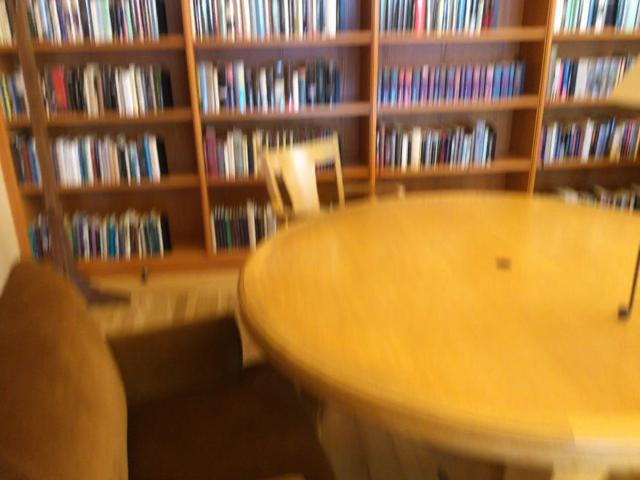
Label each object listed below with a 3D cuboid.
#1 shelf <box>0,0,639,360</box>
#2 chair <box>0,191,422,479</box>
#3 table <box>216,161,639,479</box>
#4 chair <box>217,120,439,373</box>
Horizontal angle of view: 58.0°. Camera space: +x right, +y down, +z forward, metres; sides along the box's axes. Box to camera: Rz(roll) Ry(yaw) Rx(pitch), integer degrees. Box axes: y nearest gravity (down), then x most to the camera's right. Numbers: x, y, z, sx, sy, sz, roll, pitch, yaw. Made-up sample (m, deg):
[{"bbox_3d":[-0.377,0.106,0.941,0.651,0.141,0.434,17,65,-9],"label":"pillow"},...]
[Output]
[{"bbox_3d":[0.230,-0.910,3.030,3.840,2.410,0.900,-7,22,-6],"label":"shelf"},{"bbox_3d":[-0.330,0.500,1.340,0.800,0.910,0.880,-11,23,-16],"label":"chair"},{"bbox_3d":[0.500,0.400,1.730,1.470,0.800,1.430,-7,22,-6],"label":"table"},{"bbox_3d":[0.050,-0.030,2.640,0.710,0.850,0.650,-18,26,-31],"label":"chair"}]
